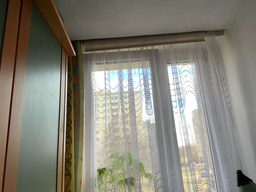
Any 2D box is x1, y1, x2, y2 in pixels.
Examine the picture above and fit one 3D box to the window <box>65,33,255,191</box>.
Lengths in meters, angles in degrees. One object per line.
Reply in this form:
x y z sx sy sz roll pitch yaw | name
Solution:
0.200 0.330 1.570 1.260 1.580 0.240 -4 -16 -2 | window
